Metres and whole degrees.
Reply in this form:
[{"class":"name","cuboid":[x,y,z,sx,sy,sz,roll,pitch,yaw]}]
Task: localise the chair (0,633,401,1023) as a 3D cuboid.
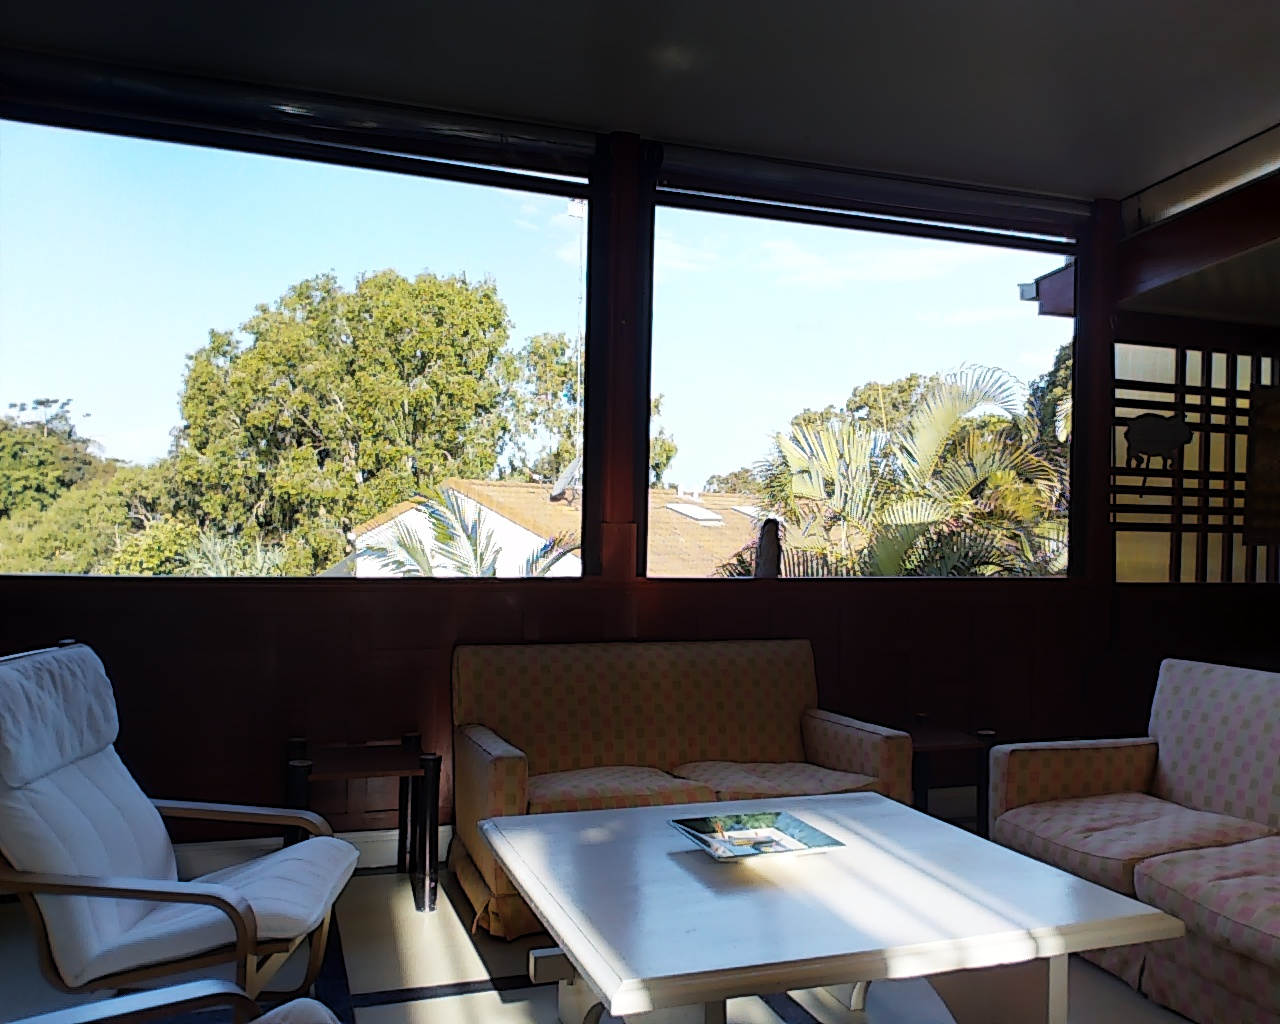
[{"class":"chair","cuboid":[-1.140,0.820,2.630,0.920,0.950,0.800,1,-1,-1]}]
